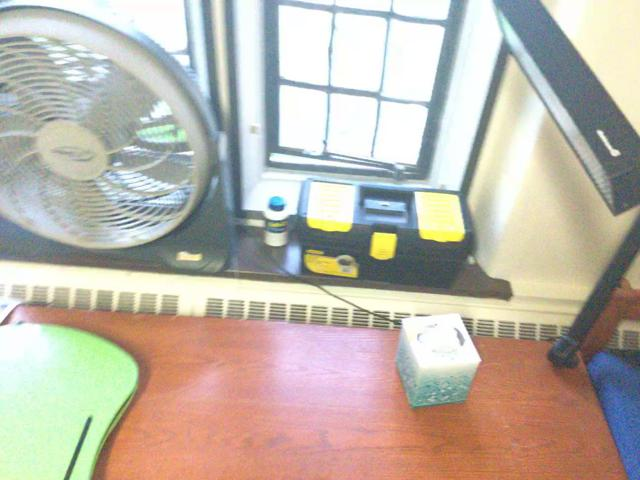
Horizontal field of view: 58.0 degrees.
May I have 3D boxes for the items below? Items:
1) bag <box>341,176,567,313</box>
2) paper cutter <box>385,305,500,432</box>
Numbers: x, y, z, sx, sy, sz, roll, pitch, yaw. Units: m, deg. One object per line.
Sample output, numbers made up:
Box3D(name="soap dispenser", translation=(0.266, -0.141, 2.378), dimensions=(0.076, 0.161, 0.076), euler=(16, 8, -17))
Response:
Box3D(name="bag", translation=(0.270, 0.010, 1.270), dimensions=(0.430, 0.200, 0.180), euler=(4, 39, 0))
Box3D(name="paper cutter", translation=(0.210, 0.230, 1.040), dimensions=(0.160, 0.150, 0.150), euler=(4, 39, 0))
